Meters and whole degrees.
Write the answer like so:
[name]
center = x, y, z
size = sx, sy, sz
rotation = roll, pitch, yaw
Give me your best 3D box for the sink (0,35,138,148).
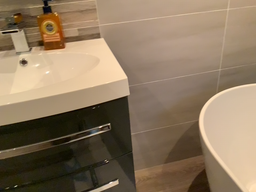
[sink]
center = -0.350, -0.040, 0.670
size = 0.650, 0.110, 0.480
rotation = -11, 30, -10
